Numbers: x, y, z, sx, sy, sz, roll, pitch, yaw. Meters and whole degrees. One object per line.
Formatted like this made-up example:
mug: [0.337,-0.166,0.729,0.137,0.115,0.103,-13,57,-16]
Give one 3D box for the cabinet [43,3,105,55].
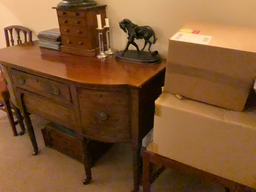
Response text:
cabinet: [-0.390,-0.510,1.570,0.350,0.310,0.220,15,32,28]
